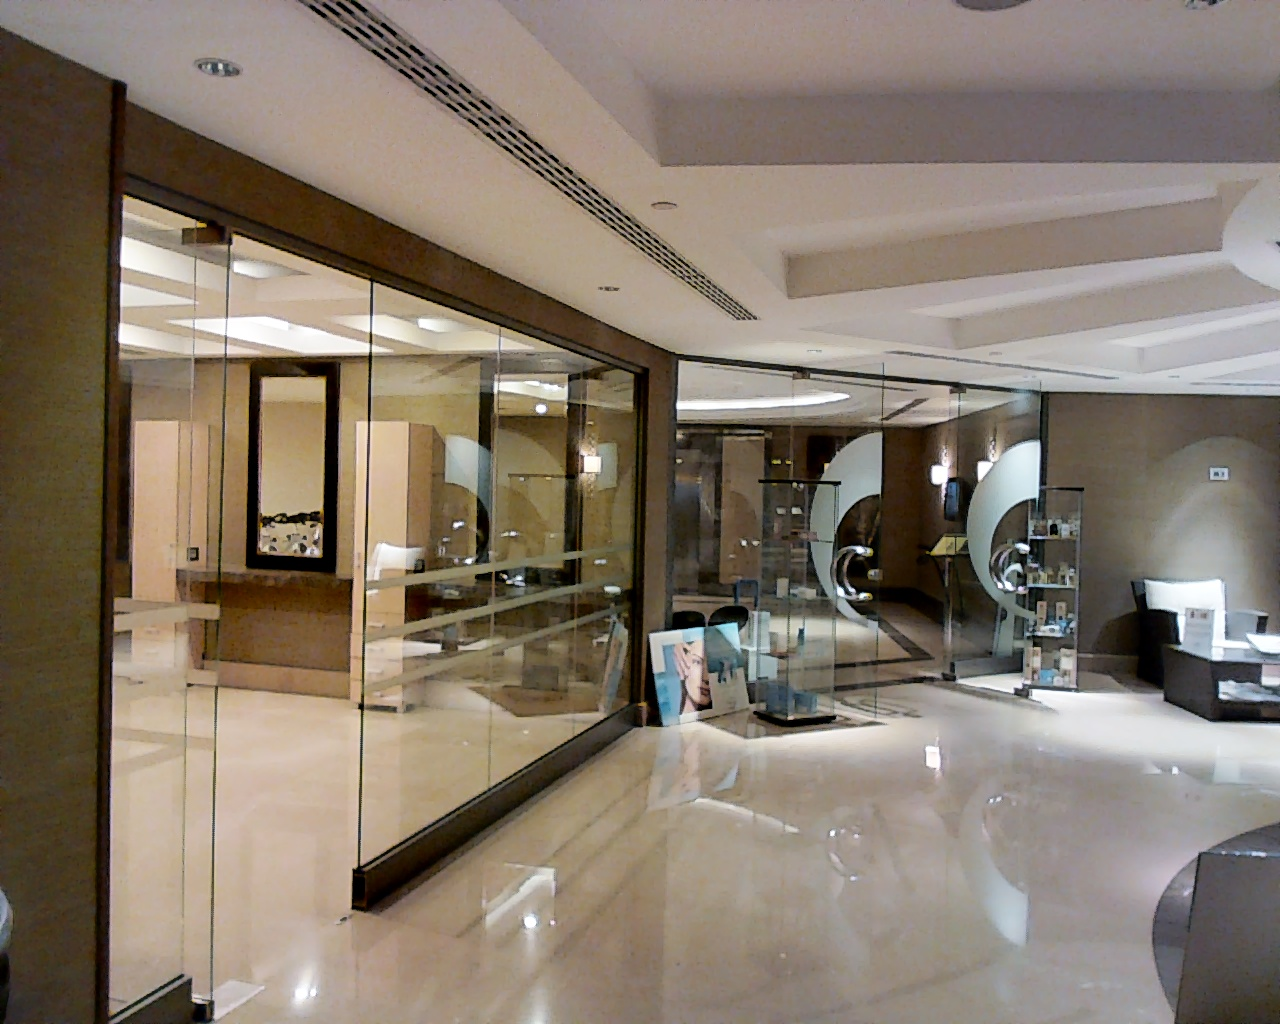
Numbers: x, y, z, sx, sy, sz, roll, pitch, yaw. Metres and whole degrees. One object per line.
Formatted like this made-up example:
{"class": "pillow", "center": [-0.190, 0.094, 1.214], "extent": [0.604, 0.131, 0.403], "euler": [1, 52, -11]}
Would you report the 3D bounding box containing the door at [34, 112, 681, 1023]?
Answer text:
{"class": "door", "center": [-0.630, 0.270, 4.930], "extent": [0.220, 2.501, 4.780], "euler": [1, 0, 19]}
